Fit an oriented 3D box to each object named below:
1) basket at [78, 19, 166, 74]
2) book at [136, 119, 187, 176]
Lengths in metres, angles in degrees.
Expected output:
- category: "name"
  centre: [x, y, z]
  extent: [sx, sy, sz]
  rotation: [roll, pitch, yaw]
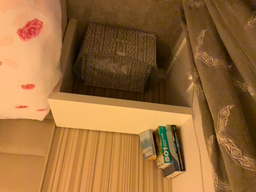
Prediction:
- category: "basket"
  centre: [-0.050, -0.350, 1.560]
  extent: [0.590, 0.180, 0.260]
  rotation: [8, 149, -8]
- category: "book"
  centre: [0.200, 0.340, 1.370]
  extent: [0.250, 0.280, 0.250]
  rotation: [7, 149, -7]
